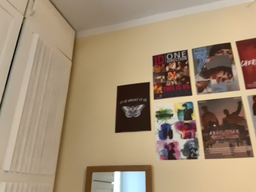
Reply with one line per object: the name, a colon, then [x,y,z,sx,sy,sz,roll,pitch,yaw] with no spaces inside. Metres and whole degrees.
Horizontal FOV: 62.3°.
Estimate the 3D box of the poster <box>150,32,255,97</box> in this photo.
poster: [0.700,-0.200,1.100,1.180,0.310,0.030,-6,-24,16]
